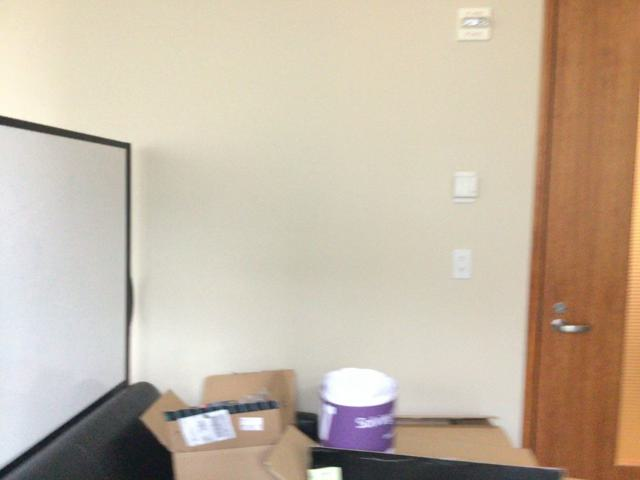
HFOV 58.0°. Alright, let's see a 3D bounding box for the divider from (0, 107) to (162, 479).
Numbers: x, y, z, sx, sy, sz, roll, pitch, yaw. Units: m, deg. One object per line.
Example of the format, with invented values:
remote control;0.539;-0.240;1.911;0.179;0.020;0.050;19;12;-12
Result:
divider;-0.820;0.450;1.640;0.120;1.560;1.440;3;3;8
